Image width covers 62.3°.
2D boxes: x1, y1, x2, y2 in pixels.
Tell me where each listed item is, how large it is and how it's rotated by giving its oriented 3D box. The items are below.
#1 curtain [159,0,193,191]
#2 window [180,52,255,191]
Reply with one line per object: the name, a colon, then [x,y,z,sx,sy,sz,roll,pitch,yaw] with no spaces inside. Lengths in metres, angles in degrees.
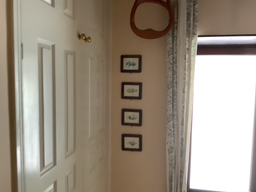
curtain: [0.420,0.220,1.940,0.240,2.120,0.130,2,-175,8]
window: [1.060,0.300,2.550,0.770,1.620,0.210,1,-175,7]
